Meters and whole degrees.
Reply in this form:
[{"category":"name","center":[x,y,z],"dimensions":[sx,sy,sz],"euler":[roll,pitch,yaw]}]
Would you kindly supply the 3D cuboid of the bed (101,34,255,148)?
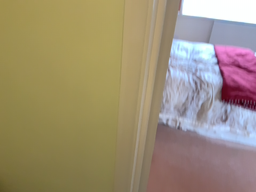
[{"category":"bed","center":[0.850,-0.220,2.720],"dimensions":[1.940,0.530,1.650],"euler":[10,31,9]}]
